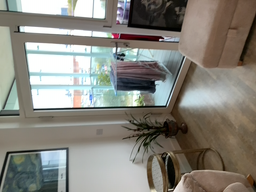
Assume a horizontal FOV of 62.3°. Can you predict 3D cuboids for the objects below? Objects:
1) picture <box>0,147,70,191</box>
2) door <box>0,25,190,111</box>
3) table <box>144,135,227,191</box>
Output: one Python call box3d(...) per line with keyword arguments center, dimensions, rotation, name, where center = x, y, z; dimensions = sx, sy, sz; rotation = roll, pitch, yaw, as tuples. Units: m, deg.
box3d(center=(-1.040, 0.930, 2.360), dimensions=(0.800, 0.750, 0.060), rotation=(-108, 24, -49), name="picture")
box3d(center=(-0.470, -0.320, 3.130), dimensions=(0.080, 2.700, 1.190), rotation=(-114, 29, -56), name="door")
box3d(center=(0.610, 0.830, 2.430), dimensions=(0.500, 0.640, 0.510), rotation=(-108, 24, -49), name="table")
